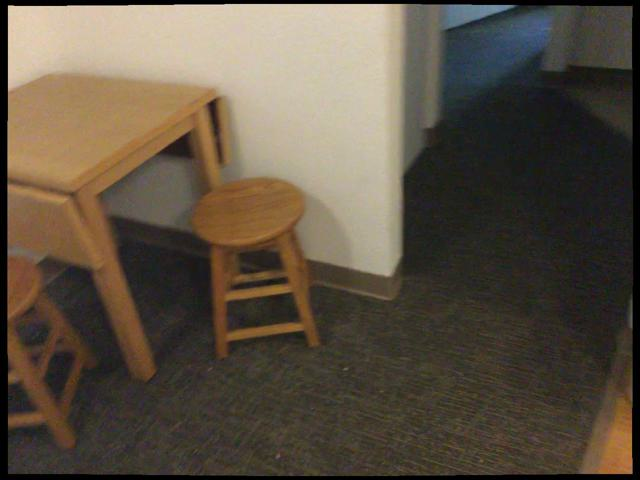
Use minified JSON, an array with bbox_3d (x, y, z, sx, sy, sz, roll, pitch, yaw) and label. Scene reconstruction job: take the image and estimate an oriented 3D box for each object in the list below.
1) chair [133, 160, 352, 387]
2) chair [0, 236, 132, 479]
[{"bbox_3d":[-0.220,0.090,1.940,0.469,0.481,0.480,12,41,25],"label":"chair"},{"bbox_3d":[-0.978,0.331,1.720,0.509,0.471,0.470,12,41,25],"label":"chair"}]
